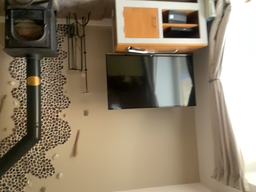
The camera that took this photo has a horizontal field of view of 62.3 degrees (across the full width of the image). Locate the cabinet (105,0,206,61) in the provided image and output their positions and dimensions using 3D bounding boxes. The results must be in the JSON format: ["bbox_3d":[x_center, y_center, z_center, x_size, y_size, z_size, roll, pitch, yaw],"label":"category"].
[{"bbox_3d":[0.300,-0.830,2.720,1.100,0.600,0.660,-1,176,-12],"label":"cabinet"}]
